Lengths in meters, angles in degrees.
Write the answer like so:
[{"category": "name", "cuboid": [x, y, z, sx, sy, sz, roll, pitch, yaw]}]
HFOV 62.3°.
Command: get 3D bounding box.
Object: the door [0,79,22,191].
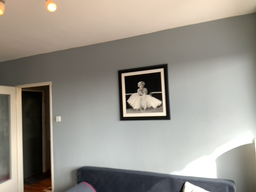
[{"category": "door", "cuboid": [-2.090, 0.780, 3.370, 0.110, 2.100, 0.860, -3, -2, 17]}]
